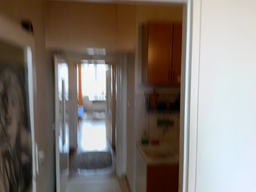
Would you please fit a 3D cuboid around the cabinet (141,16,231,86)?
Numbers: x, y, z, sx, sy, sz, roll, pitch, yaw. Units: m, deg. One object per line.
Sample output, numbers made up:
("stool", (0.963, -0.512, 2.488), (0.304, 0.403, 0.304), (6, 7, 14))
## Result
("cabinet", (0.710, -0.530, 2.670), (1.030, 0.800, 0.320), (-1, 5, -9))
